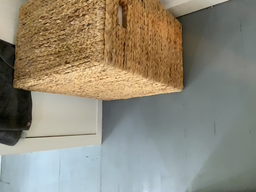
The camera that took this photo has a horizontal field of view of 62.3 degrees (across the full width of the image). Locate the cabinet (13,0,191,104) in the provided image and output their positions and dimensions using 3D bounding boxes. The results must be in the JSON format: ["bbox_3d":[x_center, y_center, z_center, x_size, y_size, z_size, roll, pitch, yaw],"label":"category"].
[{"bbox_3d":[-0.100,-0.230,1.070,0.600,0.620,0.440,-8,79,35],"label":"cabinet"}]
